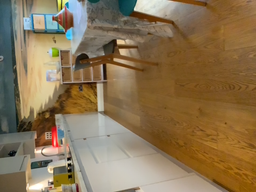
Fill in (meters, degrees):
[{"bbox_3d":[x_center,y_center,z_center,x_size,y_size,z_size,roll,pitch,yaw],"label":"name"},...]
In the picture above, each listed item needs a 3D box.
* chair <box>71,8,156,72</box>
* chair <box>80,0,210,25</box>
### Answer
[{"bbox_3d":[-0.170,-0.550,2.260,0.440,0.790,0.510,170,96,-69],"label":"chair"},{"bbox_3d":[0.090,-0.840,1.510,0.490,0.790,0.460,-177,84,-69],"label":"chair"}]
